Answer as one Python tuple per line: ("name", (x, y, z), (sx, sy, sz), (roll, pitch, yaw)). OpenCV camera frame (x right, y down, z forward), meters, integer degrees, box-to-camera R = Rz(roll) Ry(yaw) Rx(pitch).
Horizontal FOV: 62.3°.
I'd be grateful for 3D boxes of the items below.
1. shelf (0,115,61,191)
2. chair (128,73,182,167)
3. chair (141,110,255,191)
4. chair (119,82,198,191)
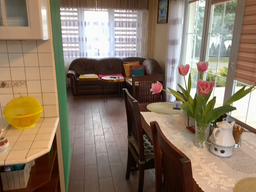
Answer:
("shelf", (-0.680, 0.650, 1.520), (0.290, 0.860, 0.570), (-2, 16, -11))
("chair", (0.290, 0.260, 2.640), (0.480, 1.010, 0.540), (-2, 16, -10))
("chair", (0.410, 0.670, 1.270), (0.530, 1.010, 0.560), (-2, 16, -12))
("chair", (0.230, 0.430, 2.080), (0.540, 1.010, 0.580), (-2, 16, -12))
